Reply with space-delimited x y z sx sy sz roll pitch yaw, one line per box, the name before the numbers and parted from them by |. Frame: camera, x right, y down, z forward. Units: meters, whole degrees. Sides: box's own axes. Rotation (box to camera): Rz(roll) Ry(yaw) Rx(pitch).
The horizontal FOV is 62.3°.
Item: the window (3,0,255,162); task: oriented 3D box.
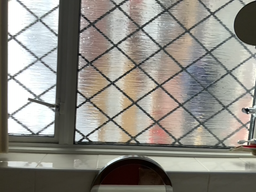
window | 0.080 -0.190 0.890 0.050 1.120 0.940 -128 41 -80
